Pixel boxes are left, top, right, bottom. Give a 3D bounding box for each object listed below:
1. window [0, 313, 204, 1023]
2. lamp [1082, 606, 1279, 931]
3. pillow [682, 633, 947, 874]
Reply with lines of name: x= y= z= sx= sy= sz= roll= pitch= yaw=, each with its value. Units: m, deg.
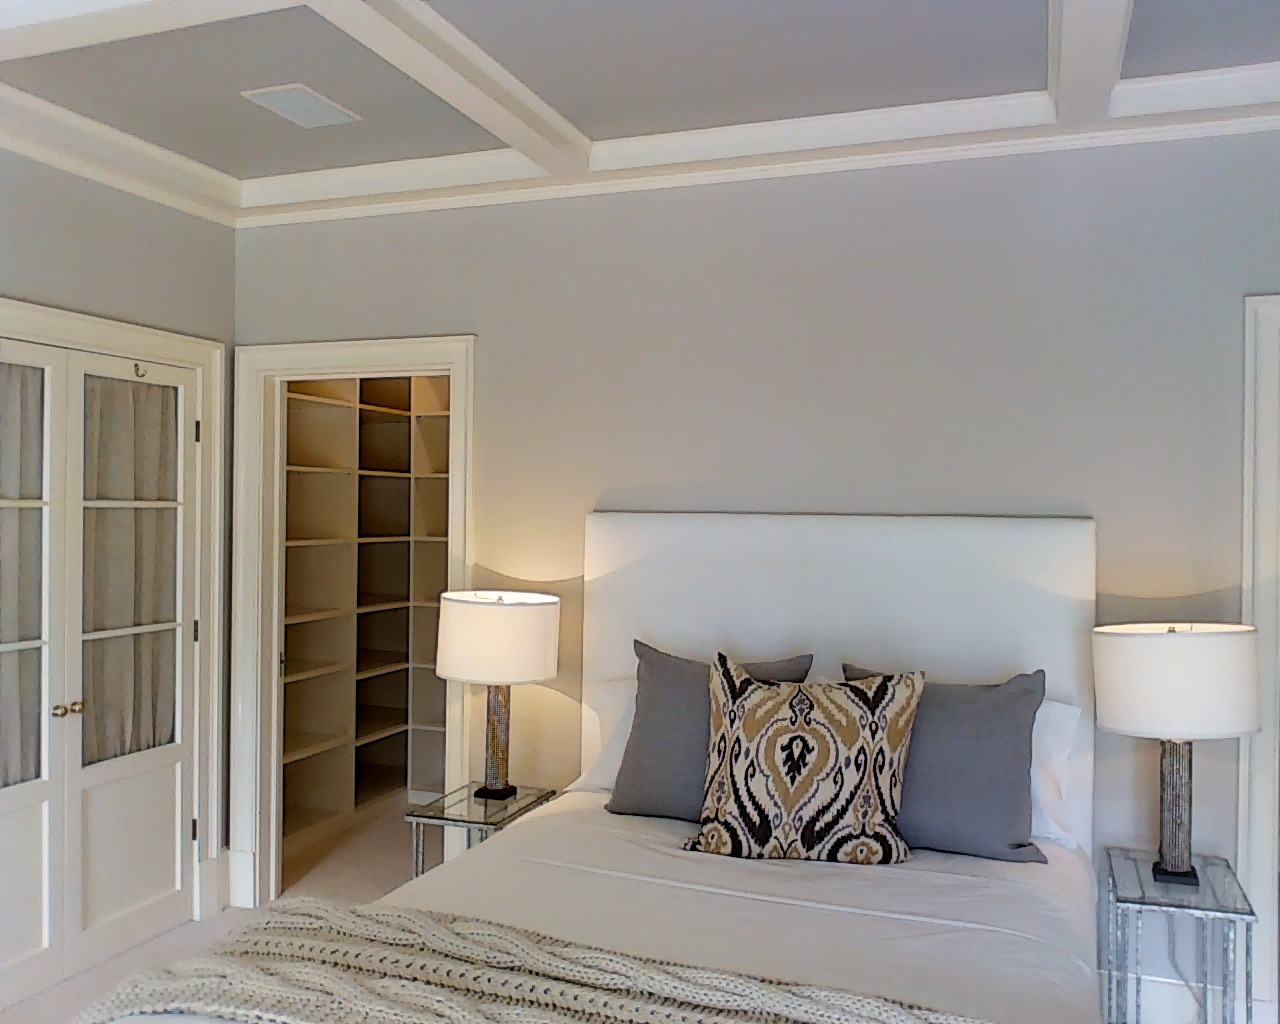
window: x=-1.870 y=0.470 z=3.450 sx=0.100 sy=2.120 sz=1.170 roll=1 pitch=0 yaw=20
lamp: x=1.370 y=0.620 z=2.770 sx=0.410 sy=0.710 sz=0.400 roll=1 pitch=0 yaw=20
pillow: x=0.440 y=0.620 z=2.760 sx=0.570 sy=0.510 sz=0.260 roll=-9 pitch=-16 yaw=10
